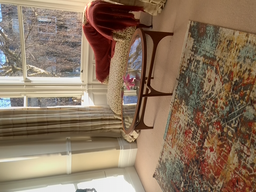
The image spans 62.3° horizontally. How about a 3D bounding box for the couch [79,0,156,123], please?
[{"bbox_3d":[-0.250,-0.500,3.180,0.710,0.820,1.620,-124,38,-57],"label":"couch"}]
